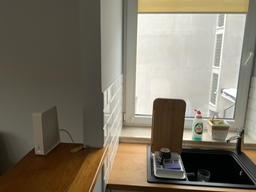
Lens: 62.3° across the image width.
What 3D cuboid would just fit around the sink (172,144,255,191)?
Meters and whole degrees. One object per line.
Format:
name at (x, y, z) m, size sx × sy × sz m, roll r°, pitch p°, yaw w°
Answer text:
sink at (0.640, 0.590, 1.550) m, size 0.540 × 0.250 × 0.520 m, roll 2°, pitch 12°, yaw 3°
